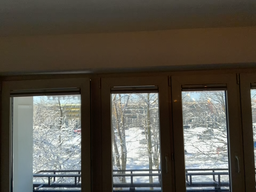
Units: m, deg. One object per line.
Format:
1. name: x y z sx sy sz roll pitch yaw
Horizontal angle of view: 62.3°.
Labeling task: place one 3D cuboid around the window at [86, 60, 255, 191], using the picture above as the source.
1. window: 1.140 0.480 1.660 2.930 1.520 0.180 -2 -3 5
